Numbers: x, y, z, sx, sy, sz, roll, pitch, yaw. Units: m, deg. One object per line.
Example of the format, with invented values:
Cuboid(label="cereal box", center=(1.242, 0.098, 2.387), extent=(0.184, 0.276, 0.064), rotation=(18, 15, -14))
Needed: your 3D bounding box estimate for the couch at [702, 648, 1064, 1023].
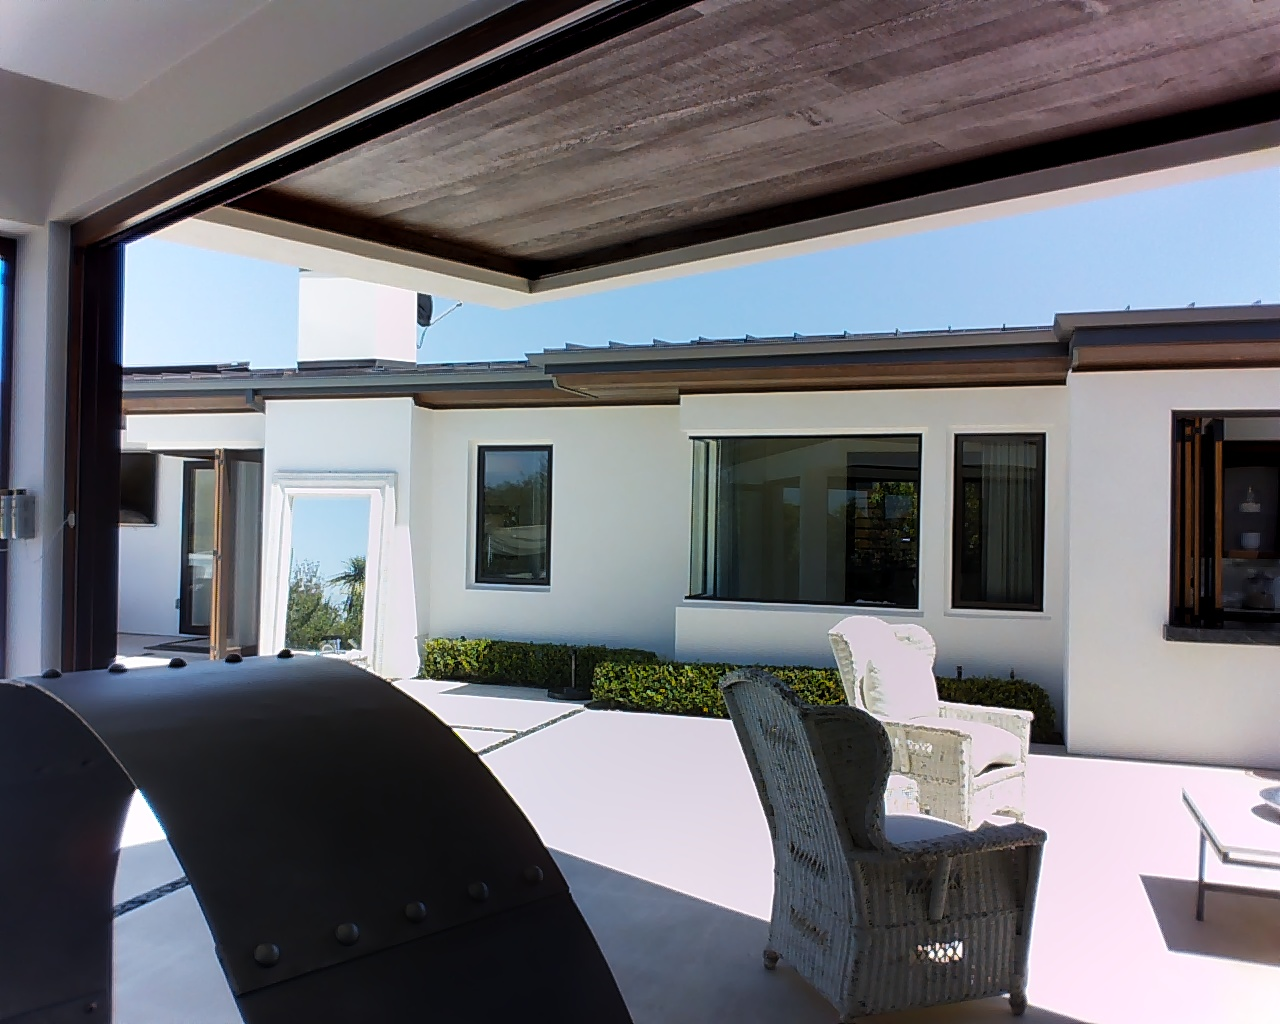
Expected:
Cuboid(label="couch", center=(0.830, 1.120, 3.810), extent=(0.910, 1.150, 0.840), rotation=(1, -1, -25))
